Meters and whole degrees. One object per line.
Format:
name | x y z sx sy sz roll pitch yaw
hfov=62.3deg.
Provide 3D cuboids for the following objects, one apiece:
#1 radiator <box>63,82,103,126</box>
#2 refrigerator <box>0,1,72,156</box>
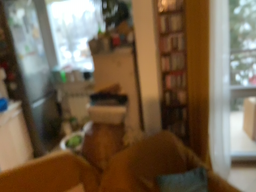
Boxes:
radiator | -0.730 0.140 3.540 0.530 0.690 0.150 -5 19 4
refrigerator | -1.500 -0.220 3.070 0.710 2.000 0.780 -2 20 11
